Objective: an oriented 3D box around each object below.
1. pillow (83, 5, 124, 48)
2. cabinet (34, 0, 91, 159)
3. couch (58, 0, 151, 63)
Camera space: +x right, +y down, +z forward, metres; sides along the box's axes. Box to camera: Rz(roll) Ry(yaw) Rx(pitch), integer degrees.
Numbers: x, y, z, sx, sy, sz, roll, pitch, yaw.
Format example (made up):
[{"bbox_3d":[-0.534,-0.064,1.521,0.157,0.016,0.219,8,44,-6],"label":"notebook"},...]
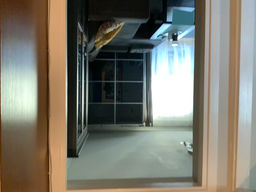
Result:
[{"bbox_3d":[-0.350,-0.980,2.950,0.280,0.420,0.570,-21,-140,-35],"label":"pillow"},{"bbox_3d":[-0.580,-0.520,2.070,0.370,1.980,0.900,1,-178,-7],"label":"cabinet"},{"bbox_3d":[-0.430,-1.160,3.820,1.130,0.820,2.470,1,-178,-7],"label":"couch"}]
